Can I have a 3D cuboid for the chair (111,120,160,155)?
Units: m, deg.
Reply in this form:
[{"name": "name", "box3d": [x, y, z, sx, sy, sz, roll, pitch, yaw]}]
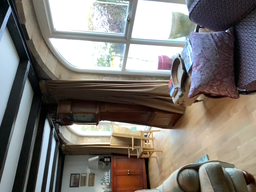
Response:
[{"name": "chair", "box3d": [0.130, 0.960, 4.910, 0.570, 1.000, 0.610, 106, 164, -56]}]
